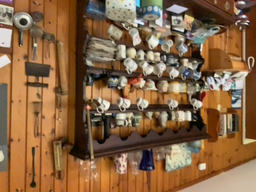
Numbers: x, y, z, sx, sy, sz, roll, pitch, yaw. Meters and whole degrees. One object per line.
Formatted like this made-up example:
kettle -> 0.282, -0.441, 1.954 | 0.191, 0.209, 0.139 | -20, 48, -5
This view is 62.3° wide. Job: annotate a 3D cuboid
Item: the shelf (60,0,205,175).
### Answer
shelf -> 0.180, -0.090, 1.850 | 1.480, 1.130, 0.260 | 1, 179, -42
